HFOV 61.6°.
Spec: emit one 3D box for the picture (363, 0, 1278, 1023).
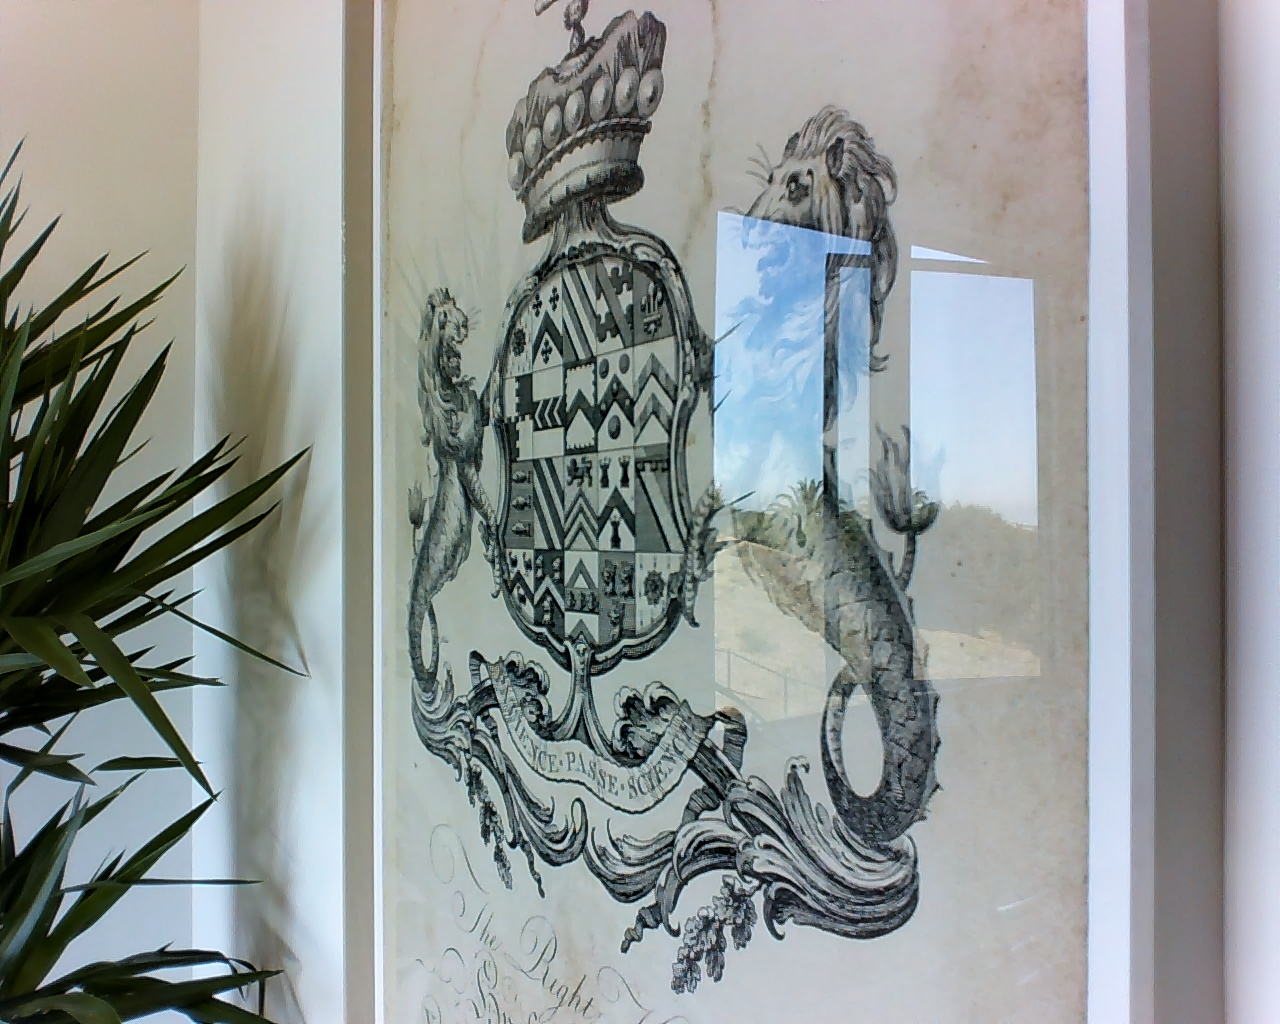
[{"bbox_3d":[-0.030,0.060,0.720,0.030,1.410,0.860,0,1,-33],"label":"picture"}]
